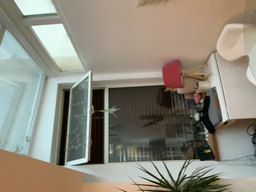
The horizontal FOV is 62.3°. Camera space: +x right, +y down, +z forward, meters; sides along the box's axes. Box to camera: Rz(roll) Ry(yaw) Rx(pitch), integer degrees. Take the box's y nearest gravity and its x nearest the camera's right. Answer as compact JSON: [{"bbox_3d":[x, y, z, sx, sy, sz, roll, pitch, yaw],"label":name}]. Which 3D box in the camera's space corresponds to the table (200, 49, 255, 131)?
[{"bbox_3d":[1.260,-0.060,2.200,0.400,0.790,0.730,83,-176,-67],"label":"table"}]
